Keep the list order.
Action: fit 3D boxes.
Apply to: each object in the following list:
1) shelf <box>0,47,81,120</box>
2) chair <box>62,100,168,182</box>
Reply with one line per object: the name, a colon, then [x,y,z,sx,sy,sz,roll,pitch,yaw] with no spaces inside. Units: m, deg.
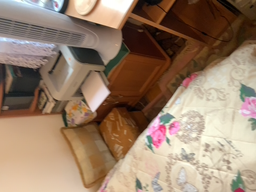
shelf: [-0.770,-0.080,1.460,0.340,0.730,0.330,-51,58,32]
chair: [-0.090,0.300,1.620,0.350,0.620,0.400,-51,58,32]
